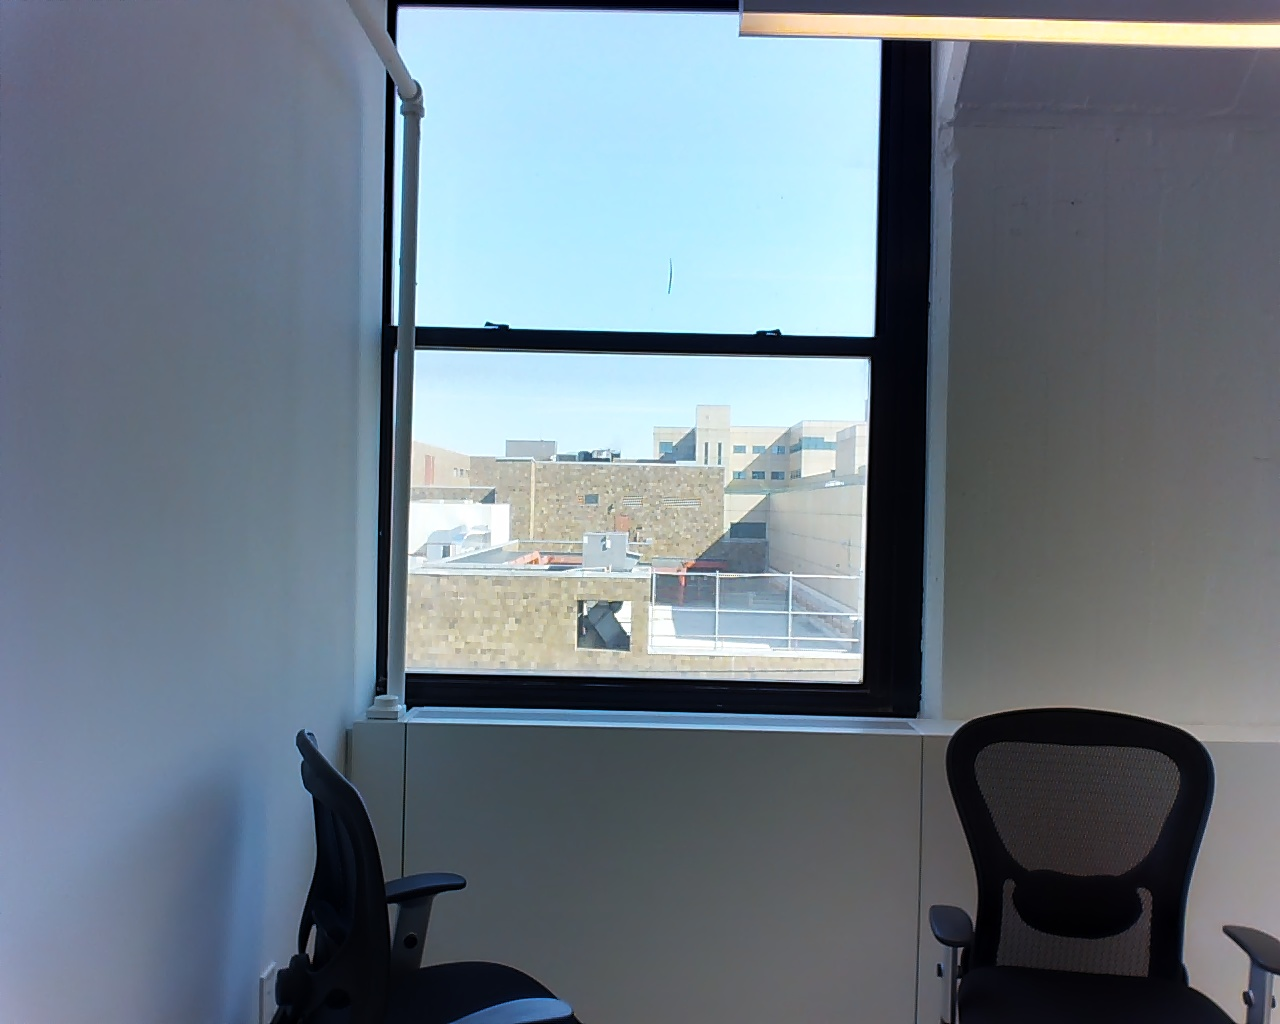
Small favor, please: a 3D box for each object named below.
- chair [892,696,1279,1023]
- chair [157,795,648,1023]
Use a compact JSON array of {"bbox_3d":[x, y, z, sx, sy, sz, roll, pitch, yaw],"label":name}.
[{"bbox_3d":[0.920,0.940,2.120,0.700,1.000,0.760,1,0,5],"label":"chair"},{"bbox_3d":[-0.350,1.010,1.880,0.710,0.840,0.650,1,0,1],"label":"chair"}]
